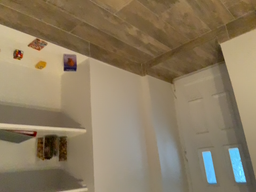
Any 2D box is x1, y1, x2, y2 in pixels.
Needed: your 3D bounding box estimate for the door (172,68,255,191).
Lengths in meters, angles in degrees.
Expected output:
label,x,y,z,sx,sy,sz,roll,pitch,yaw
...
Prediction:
label,x,y,z,sx,sy,sz,roll,pitch,yaw
door,0.940,0.700,2.330,0.690,1.950,0.030,-19,158,38
